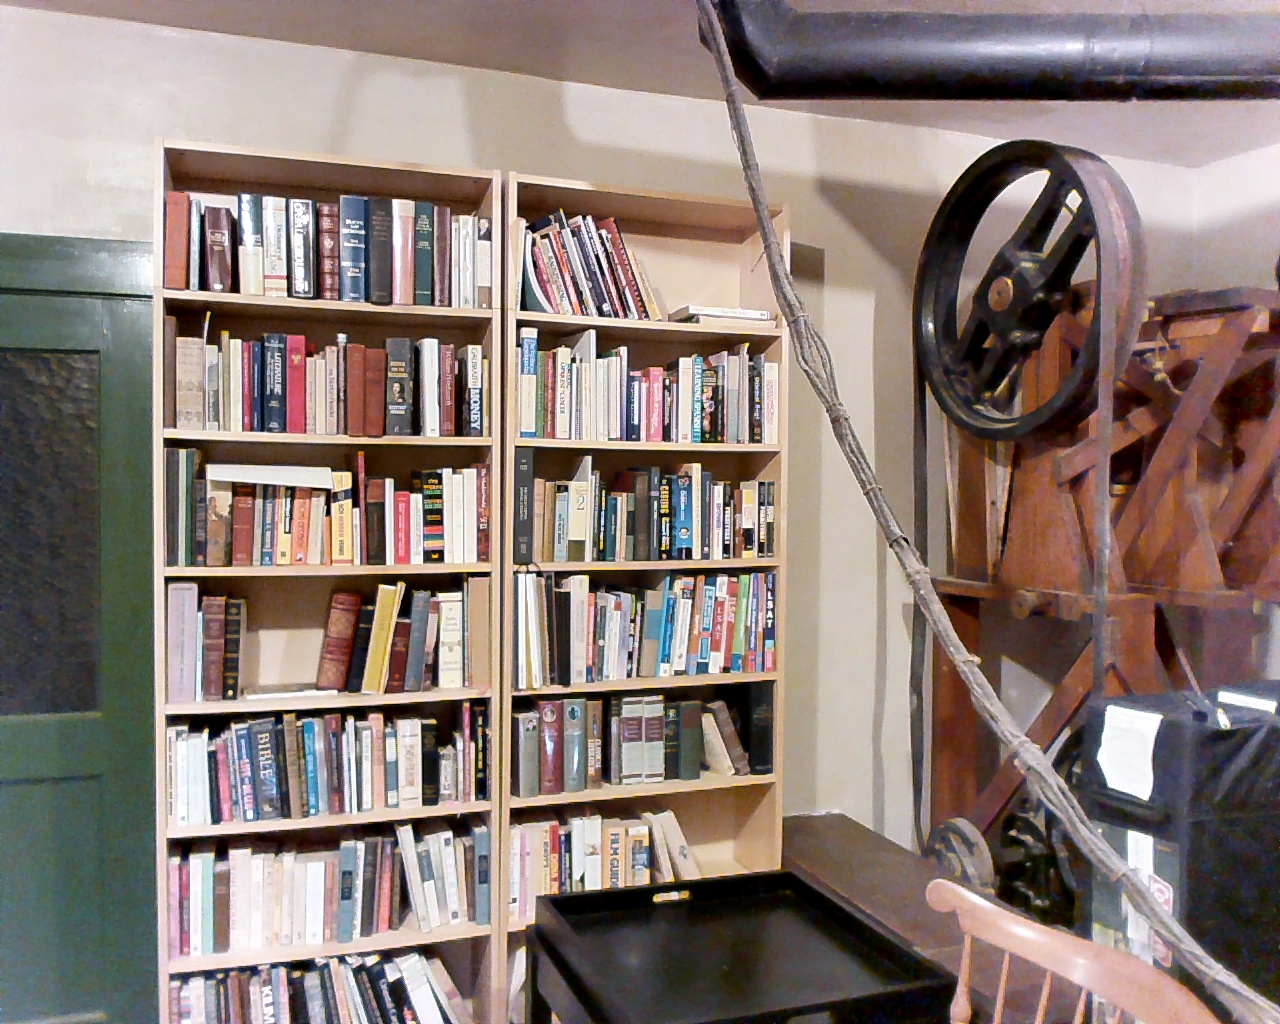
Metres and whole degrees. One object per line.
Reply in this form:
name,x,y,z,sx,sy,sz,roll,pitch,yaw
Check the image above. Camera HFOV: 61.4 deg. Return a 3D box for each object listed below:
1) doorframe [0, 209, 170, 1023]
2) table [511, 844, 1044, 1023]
doorframe,-1.710,0.370,2.580,1.060,2.200,0.060,0,1,-20
table,0.230,1.200,2.340,0.840,0.610,0.870,0,1,-20
